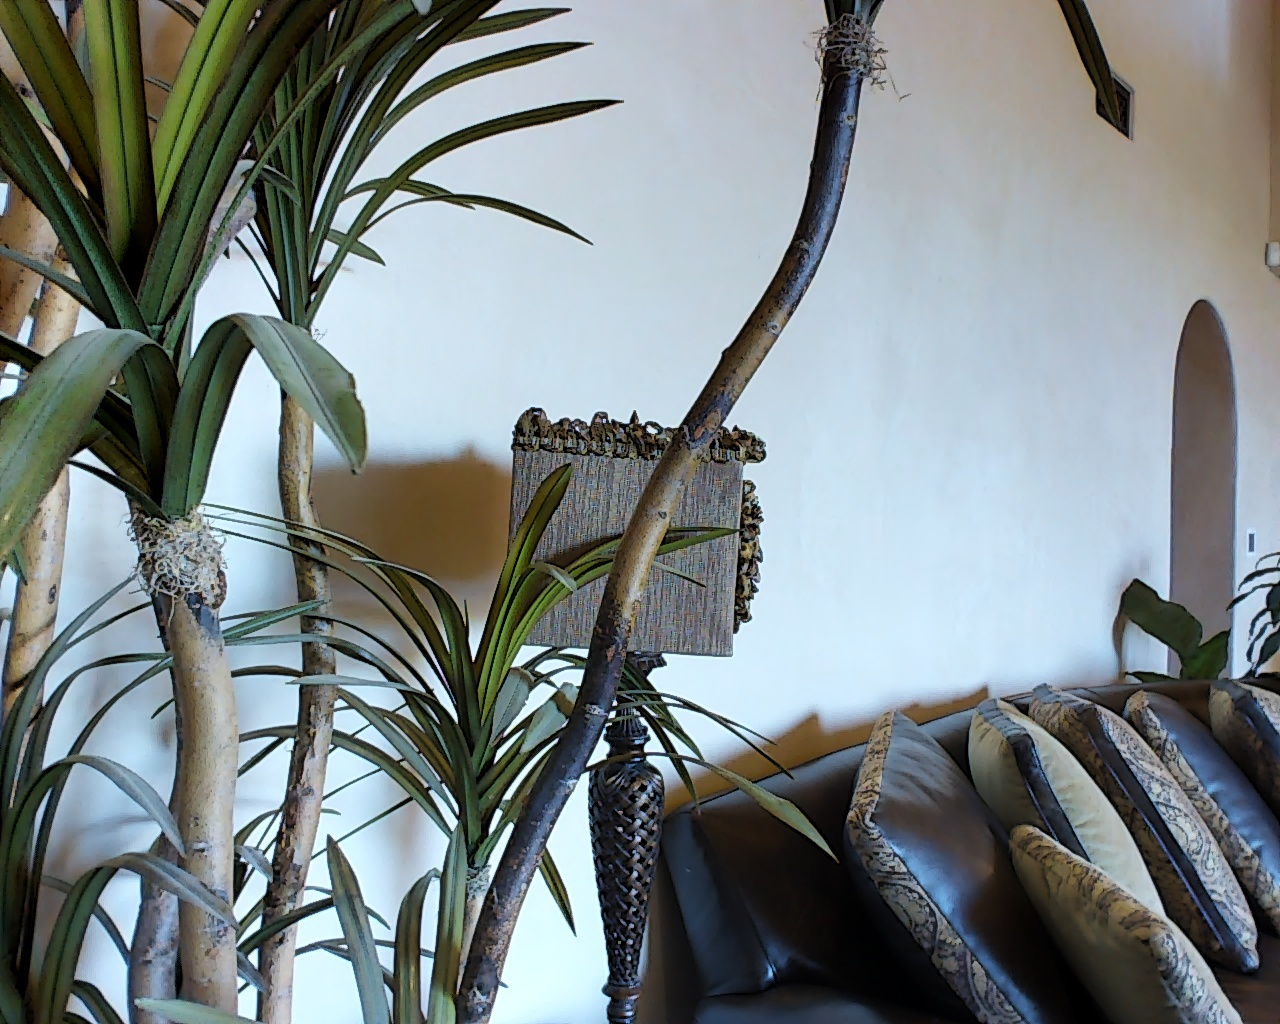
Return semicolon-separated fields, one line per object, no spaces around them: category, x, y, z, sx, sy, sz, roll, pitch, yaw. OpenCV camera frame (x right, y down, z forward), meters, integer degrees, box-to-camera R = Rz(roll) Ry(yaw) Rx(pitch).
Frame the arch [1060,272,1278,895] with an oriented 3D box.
arch;2.310;0.270;4.630;0.520;2.350;1.120;1;0;43
